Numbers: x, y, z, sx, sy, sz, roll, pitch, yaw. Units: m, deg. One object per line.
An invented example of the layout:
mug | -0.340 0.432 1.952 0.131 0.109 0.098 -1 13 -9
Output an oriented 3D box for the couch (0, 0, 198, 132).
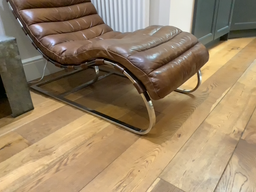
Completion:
couch | -0.210 -0.440 1.350 1.060 0.800 0.620 19 33 34
